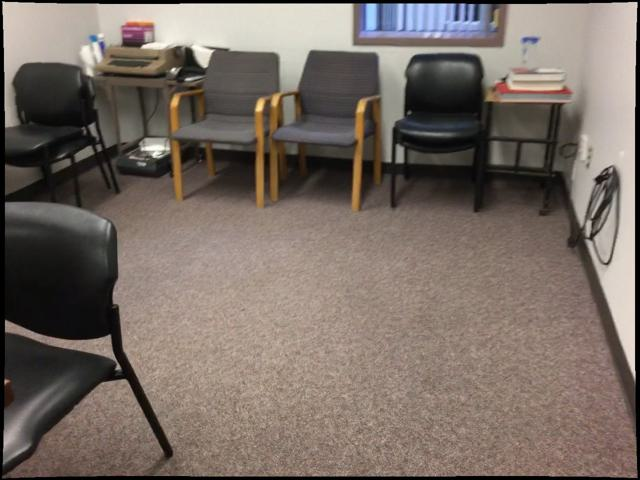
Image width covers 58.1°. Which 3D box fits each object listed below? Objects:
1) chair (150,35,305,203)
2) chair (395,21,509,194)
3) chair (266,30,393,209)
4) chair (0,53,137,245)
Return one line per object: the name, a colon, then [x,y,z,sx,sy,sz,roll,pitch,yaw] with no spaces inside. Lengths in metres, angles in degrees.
chair: [-0.549,-0.822,3.810,0.668,0.872,0.780,4,30,13]
chair: [0.838,-0.832,3.590,0.569,0.801,0.740,-4,29,16]
chair: [0.100,-0.802,3.720,0.579,0.882,0.790,7,33,15]
chair: [-1.616,-0.571,3.410,0.589,0.882,0.800,6,28,12]
